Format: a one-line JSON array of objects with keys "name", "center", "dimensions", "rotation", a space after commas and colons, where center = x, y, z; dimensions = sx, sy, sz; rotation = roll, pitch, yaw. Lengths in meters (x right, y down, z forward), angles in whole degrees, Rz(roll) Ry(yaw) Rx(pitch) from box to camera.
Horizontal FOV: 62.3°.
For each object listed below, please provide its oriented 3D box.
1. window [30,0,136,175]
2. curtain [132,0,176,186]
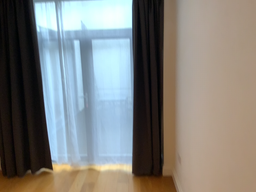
[{"name": "window", "center": [-0.580, -0.080, 3.060], "dimensions": [1.340, 2.550, 0.200], "rotation": [-1, 11, 4]}, {"name": "curtain", "center": [0.340, -0.070, 2.740], "dimensions": [0.500, 2.590, 0.200], "rotation": [-1, 11, 5]}]
